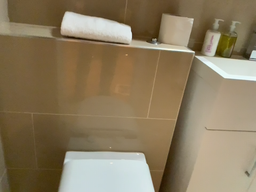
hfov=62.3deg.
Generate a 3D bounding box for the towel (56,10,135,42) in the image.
[{"bbox_3d":[-0.120,-0.270,0.810,0.270,0.070,0.140,4,26,-8],"label":"towel"}]
